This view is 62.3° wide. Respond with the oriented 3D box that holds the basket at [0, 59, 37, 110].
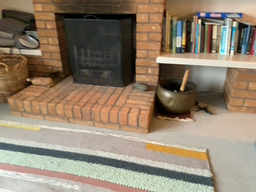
[{"bbox_3d":[-1.170,-0.130,2.030,0.330,0.320,0.420,6,26,12],"label":"basket"}]
